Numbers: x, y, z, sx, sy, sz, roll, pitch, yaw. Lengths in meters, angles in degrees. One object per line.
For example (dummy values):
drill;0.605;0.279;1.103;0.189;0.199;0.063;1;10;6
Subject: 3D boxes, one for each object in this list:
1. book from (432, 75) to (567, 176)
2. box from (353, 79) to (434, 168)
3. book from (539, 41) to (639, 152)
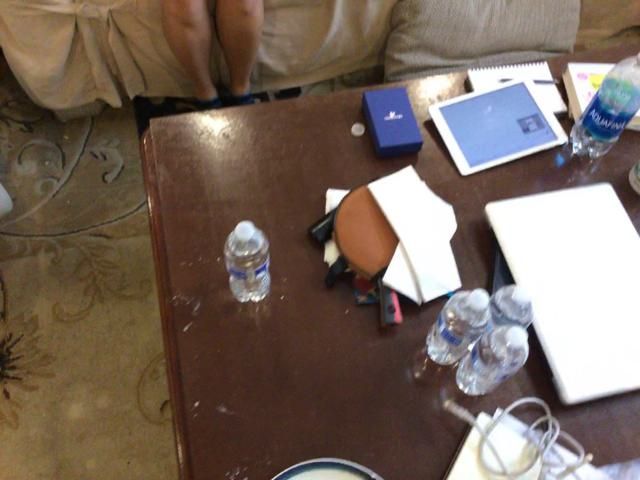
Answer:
book;0.350;-0.230;1.140;0.200;0.030;0.180;-14;64;-10
box;0.140;-0.230;1.130;0.110;0.050;0.160;-11;64;-8
book;0.610;-0.300;1.180;0.240;0.050;0.210;-11;64;-8
